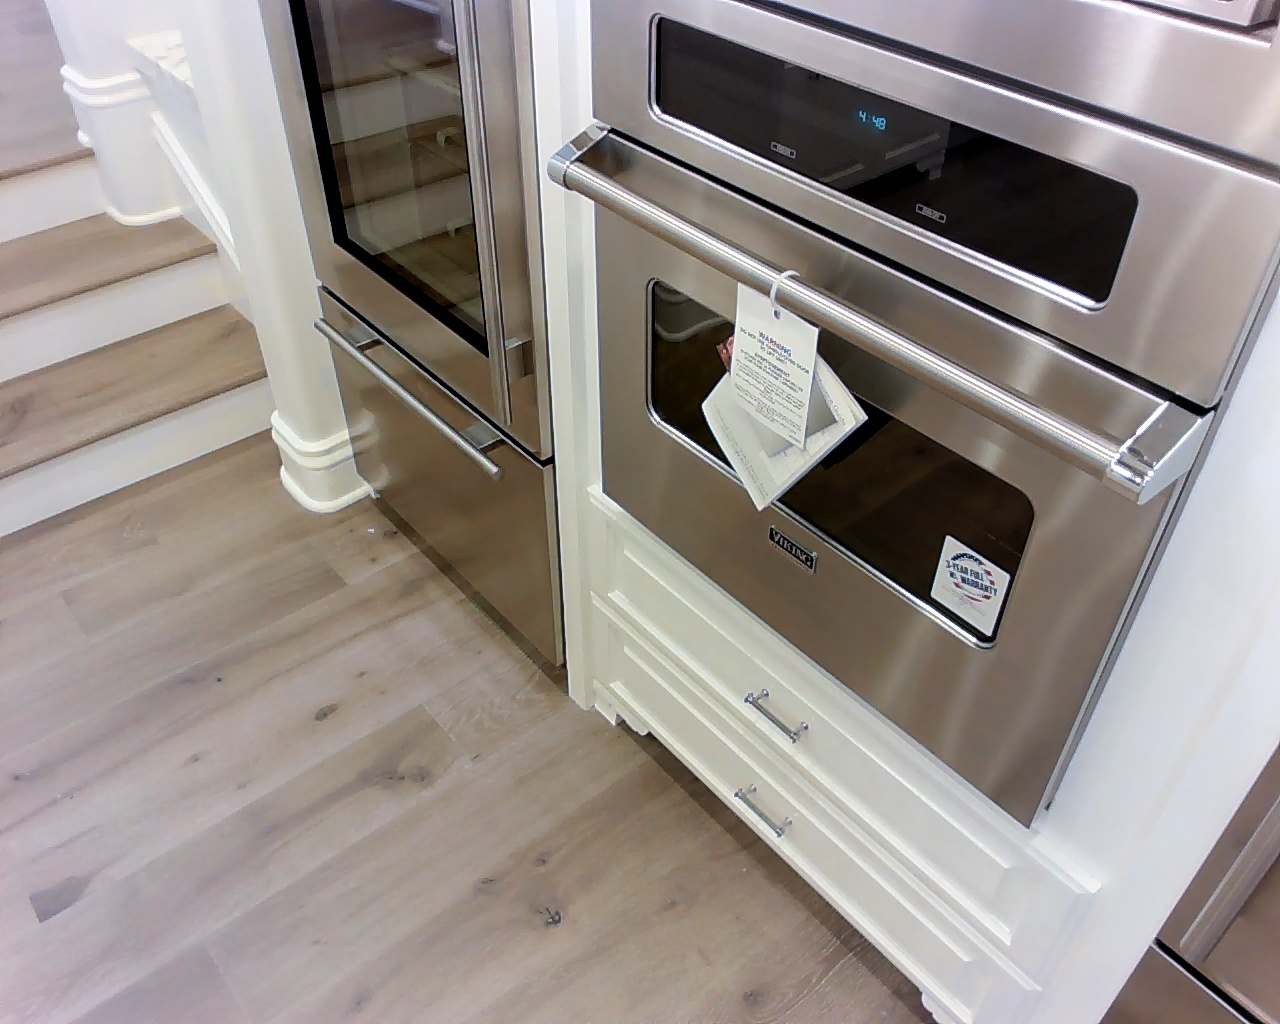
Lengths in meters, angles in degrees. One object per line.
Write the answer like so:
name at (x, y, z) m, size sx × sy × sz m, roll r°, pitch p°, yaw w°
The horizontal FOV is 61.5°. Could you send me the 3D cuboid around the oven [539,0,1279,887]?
oven at (0.200, -0.310, 0.990) m, size 0.140 × 1.280 × 0.790 m, roll -29°, pitch 49°, yaw -29°
